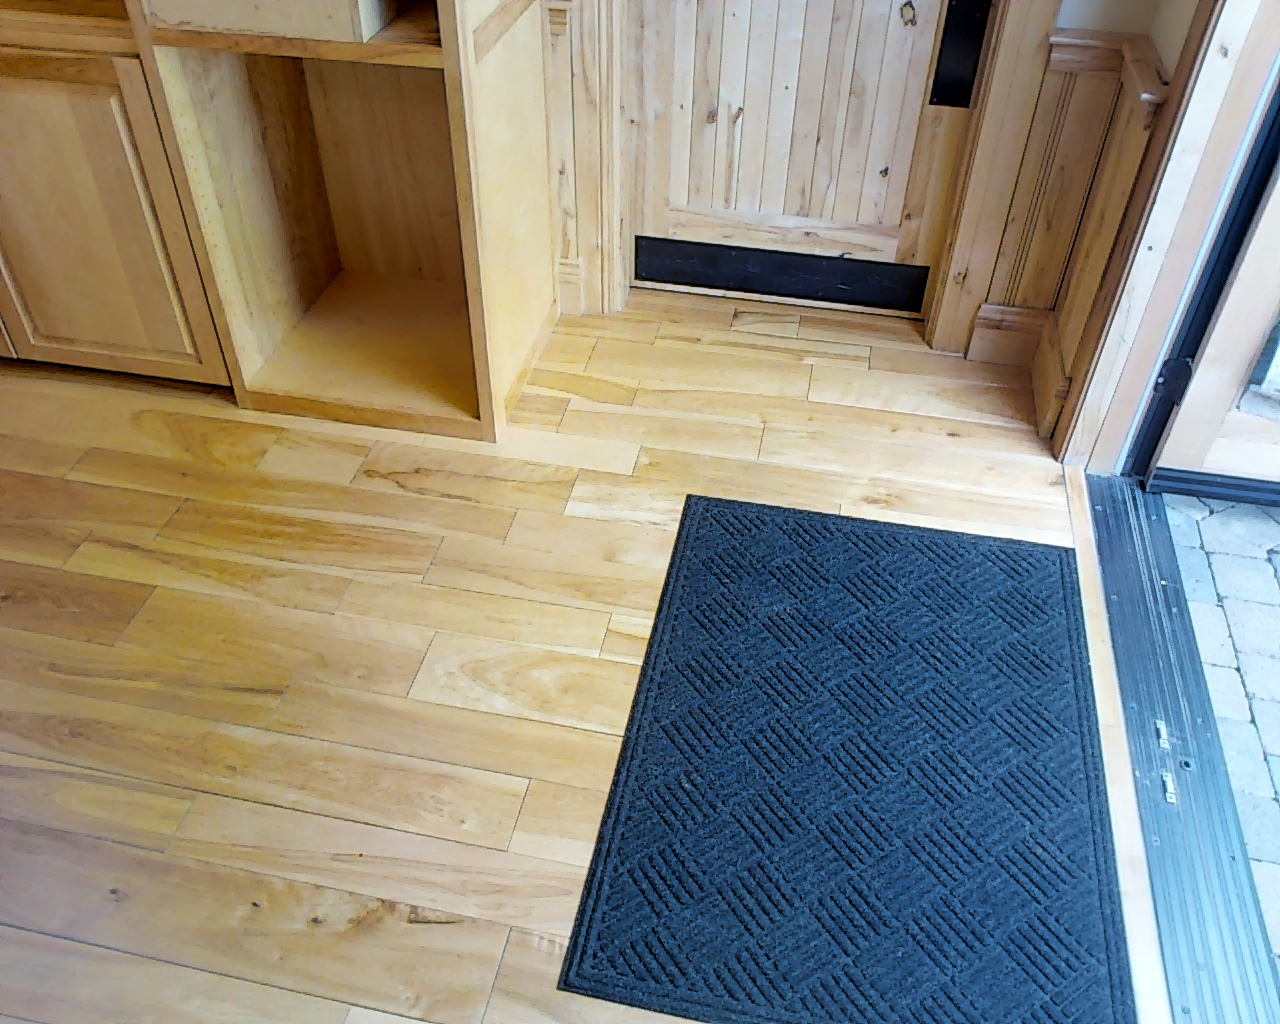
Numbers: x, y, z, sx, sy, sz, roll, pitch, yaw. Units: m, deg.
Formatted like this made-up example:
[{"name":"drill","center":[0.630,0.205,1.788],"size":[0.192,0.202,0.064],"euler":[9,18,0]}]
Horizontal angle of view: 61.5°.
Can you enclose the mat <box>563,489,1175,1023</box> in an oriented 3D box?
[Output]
[{"name":"mat","center":[0.470,0.430,2.090],"size":[0.940,0.010,1.280],"euler":[9,42,8]}]
